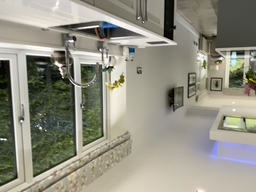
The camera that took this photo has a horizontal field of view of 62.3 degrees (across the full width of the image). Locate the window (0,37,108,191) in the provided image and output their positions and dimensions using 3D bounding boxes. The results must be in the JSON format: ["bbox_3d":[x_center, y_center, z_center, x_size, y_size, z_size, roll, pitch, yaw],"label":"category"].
[{"bbox_3d":[-0.710,0.110,1.990,0.100,1.160,1.720,4,-172,28],"label":"window"}]
